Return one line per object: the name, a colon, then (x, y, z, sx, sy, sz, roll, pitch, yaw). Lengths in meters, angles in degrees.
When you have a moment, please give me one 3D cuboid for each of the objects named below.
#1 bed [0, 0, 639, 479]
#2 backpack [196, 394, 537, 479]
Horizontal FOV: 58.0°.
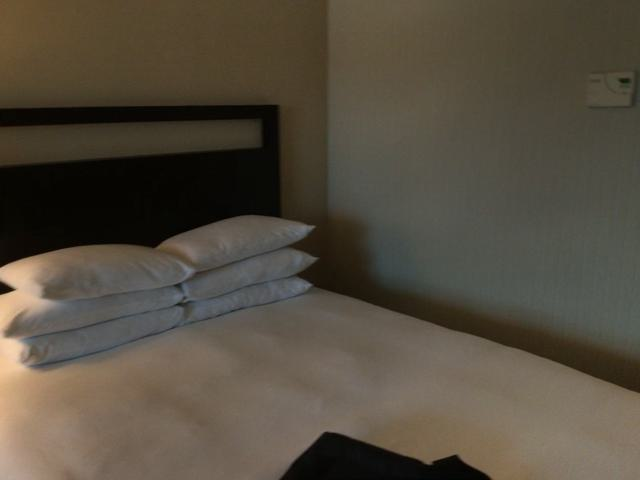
bed: (-0.200, 0.350, 1.650, 1.750, 1.580, 2.100, -10, 13, -40)
backpack: (0.080, 0.490, 1.080, 0.550, 0.120, 0.390, -10, 13, -40)
